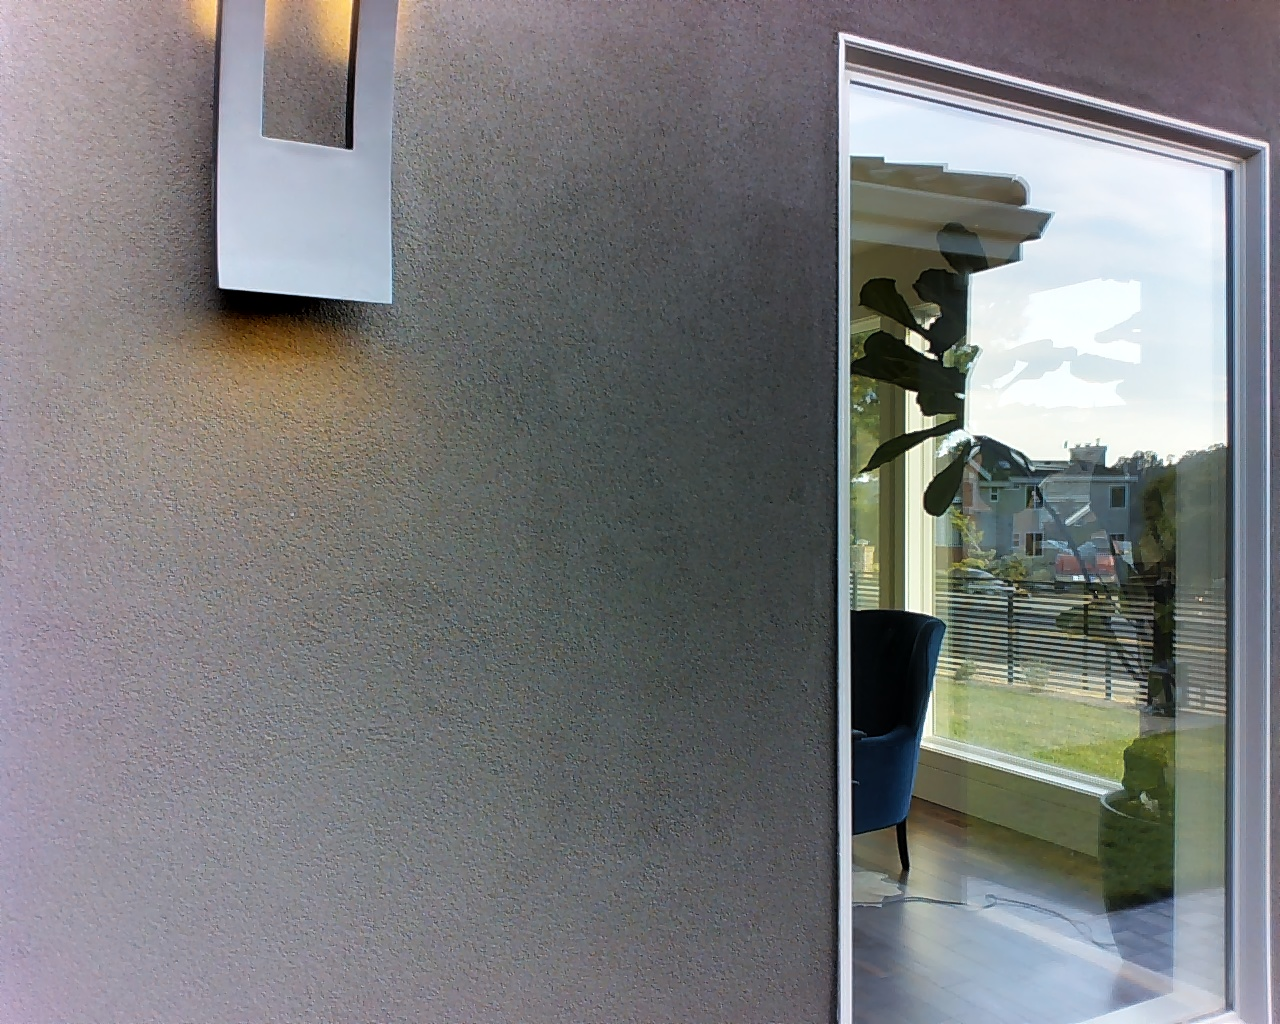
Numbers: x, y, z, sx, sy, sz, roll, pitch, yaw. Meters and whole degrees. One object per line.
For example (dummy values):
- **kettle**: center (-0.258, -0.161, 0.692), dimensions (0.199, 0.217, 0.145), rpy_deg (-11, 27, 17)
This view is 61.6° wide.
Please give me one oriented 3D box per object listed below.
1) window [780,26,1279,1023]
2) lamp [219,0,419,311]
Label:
- **window**: center (0.870, 0.180, 2.240), dimensions (1.250, 2.050, 0.200), rpy_deg (0, 0, -27)
- **lamp**: center (-0.410, -0.580, 1.360), dimensions (0.210, 0.600, 0.200), rpy_deg (0, 0, -27)
